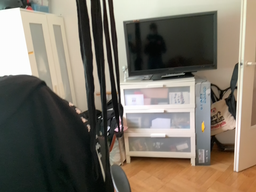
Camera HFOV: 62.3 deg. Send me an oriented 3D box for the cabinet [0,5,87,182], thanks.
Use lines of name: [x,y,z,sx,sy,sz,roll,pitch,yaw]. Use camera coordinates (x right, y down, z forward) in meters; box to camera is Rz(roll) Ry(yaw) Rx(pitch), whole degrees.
cabinet: [-1.050,-0.030,2.540,0.600,1.800,0.840,-2,16,12]

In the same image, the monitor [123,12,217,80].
monitor: [0.450,-0.520,2.290,0.950,0.630,0.050,-3,15,7]
